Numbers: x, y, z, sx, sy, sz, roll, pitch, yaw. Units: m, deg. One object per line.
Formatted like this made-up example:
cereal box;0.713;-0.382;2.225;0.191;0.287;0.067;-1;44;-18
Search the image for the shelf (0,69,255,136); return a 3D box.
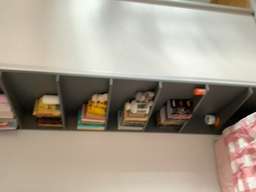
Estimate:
shelf;0.020;0.110;1.810;0.640;2.640;0.190;110;161;-60
